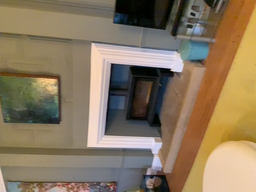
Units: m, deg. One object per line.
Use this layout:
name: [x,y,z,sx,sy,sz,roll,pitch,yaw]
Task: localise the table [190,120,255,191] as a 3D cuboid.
table: [1.000,0.950,1.880,1.000,0.270,1.060,-101,18,-59]
